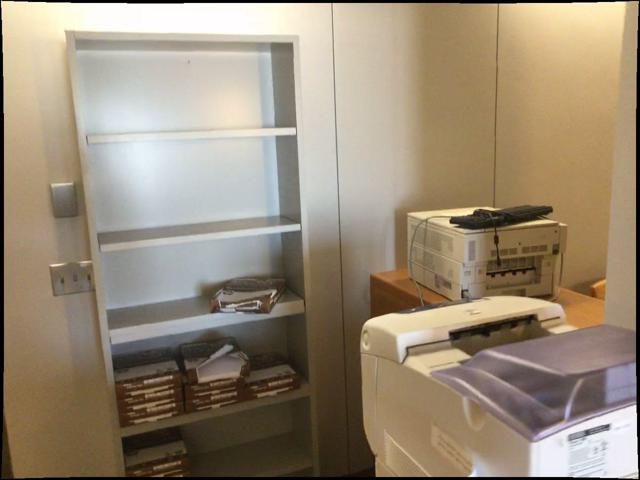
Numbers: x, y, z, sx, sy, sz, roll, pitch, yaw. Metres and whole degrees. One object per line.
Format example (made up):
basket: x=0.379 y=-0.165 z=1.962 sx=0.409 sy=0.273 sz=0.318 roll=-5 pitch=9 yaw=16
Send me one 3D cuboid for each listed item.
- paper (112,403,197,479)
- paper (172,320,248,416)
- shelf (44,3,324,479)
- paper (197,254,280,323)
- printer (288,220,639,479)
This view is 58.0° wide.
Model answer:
paper: x=-0.628 y=0.782 z=2.170 sx=0.250 sy=0.150 sz=0.310 roll=-8 pitch=16 yaw=-23
paper: x=-0.419 y=0.471 z=2.180 sx=0.220 sy=0.210 sz=0.290 roll=-8 pitch=17 yaw=-18
shelf: x=-0.439 y=0.281 z=2.160 sx=0.798 sy=2.105 sz=0.360 roll=-7 pitch=14 yaw=-20
paper: x=-0.289 y=0.170 z=2.130 sx=0.229 sy=0.110 sz=0.340 roll=1 pitch=22 yaw=5
printer: x=0.359 y=0.411 z=1.150 sx=0.489 sy=0.611 sz=0.580 roll=14 pitch=21 yaw=-31
